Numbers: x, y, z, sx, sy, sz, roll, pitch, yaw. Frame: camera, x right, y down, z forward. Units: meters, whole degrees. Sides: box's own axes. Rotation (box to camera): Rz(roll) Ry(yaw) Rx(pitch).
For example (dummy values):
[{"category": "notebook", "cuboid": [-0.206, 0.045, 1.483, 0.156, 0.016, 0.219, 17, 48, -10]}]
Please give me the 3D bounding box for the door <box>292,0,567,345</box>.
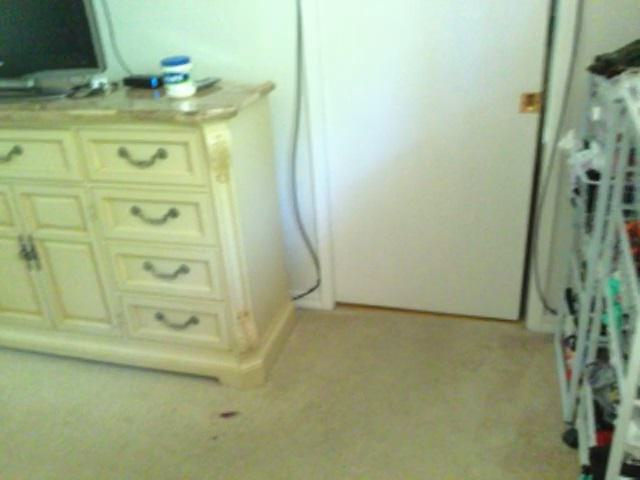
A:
[{"category": "door", "cuboid": [0.360, -0.490, 2.050, 0.870, 1.750, 0.200, 7, 26, 20]}]
